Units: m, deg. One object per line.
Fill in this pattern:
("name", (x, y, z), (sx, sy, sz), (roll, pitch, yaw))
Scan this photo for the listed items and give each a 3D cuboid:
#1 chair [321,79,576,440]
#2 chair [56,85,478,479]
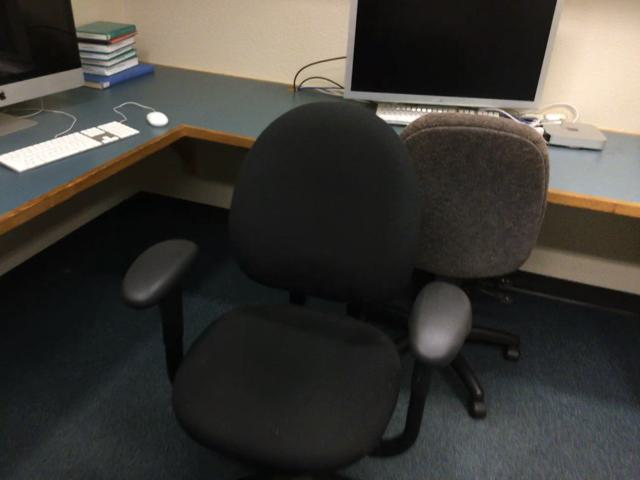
("chair", (0.380, 0.030, 1.850), (0.570, 0.950, 0.500), (10, 24, 14))
("chair", (-0.080, 0.230, 1.350), (0.680, 1.020, 0.550), (10, 24, 14))
